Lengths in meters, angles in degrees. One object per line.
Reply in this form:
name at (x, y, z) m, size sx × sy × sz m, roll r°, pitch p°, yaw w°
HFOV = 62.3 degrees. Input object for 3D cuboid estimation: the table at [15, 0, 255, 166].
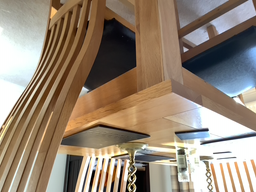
table at (0.220, -0.070, 1.200) m, size 1.210 × 0.770 × 0.870 m, roll 19°, pitch 150°, yaw -39°

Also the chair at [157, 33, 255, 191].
chair at (0.600, 0.210, 1.520) m, size 0.460 × 1.050 × 0.570 m, roll -21°, pitch 150°, yaw 39°

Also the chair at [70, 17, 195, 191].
chair at (0.000, 0.150, 1.380) m, size 0.460 × 1.030 × 0.560 m, roll 18°, pitch 151°, yaw -37°

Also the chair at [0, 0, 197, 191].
chair at (-0.140, -0.090, 0.780) m, size 0.460 × 1.050 × 0.570 m, roll -19°, pitch 151°, yaw 36°
